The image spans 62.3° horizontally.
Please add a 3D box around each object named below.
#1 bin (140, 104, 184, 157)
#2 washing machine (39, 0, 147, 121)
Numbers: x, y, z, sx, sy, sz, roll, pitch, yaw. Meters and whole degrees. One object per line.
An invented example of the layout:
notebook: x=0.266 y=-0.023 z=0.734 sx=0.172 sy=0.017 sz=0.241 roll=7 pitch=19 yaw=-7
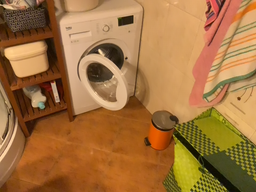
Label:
bin: x=0.240 y=0.250 z=1.560 sx=0.180 sy=0.260 sz=0.230 roll=-19 pitch=48 yaw=-23
washing machine: x=-0.280 y=-0.350 z=1.740 sx=0.570 sy=0.820 sz=0.540 roll=-21 pitch=49 yaw=-25
